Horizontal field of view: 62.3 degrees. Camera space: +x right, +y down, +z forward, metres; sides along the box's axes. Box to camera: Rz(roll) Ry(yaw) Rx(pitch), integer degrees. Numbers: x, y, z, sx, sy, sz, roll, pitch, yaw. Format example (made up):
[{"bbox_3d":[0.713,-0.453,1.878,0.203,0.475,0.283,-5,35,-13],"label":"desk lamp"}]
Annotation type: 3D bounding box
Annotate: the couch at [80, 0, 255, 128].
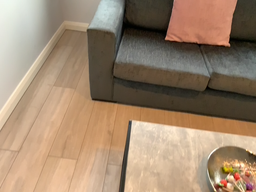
[{"bbox_3d":[0.600,-0.500,1.800,1.670,0.820,1.140,8,44,1],"label":"couch"}]
